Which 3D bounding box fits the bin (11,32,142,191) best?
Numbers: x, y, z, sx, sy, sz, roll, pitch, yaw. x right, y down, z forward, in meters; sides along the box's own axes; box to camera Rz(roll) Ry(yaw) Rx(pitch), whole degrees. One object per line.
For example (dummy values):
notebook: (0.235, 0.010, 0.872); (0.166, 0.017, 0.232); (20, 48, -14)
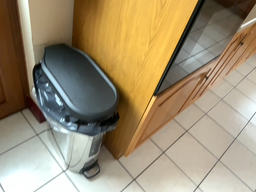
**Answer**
bin: (-0.300, 0.110, 1.130); (0.300, 0.630, 0.530); (-28, 63, -36)
